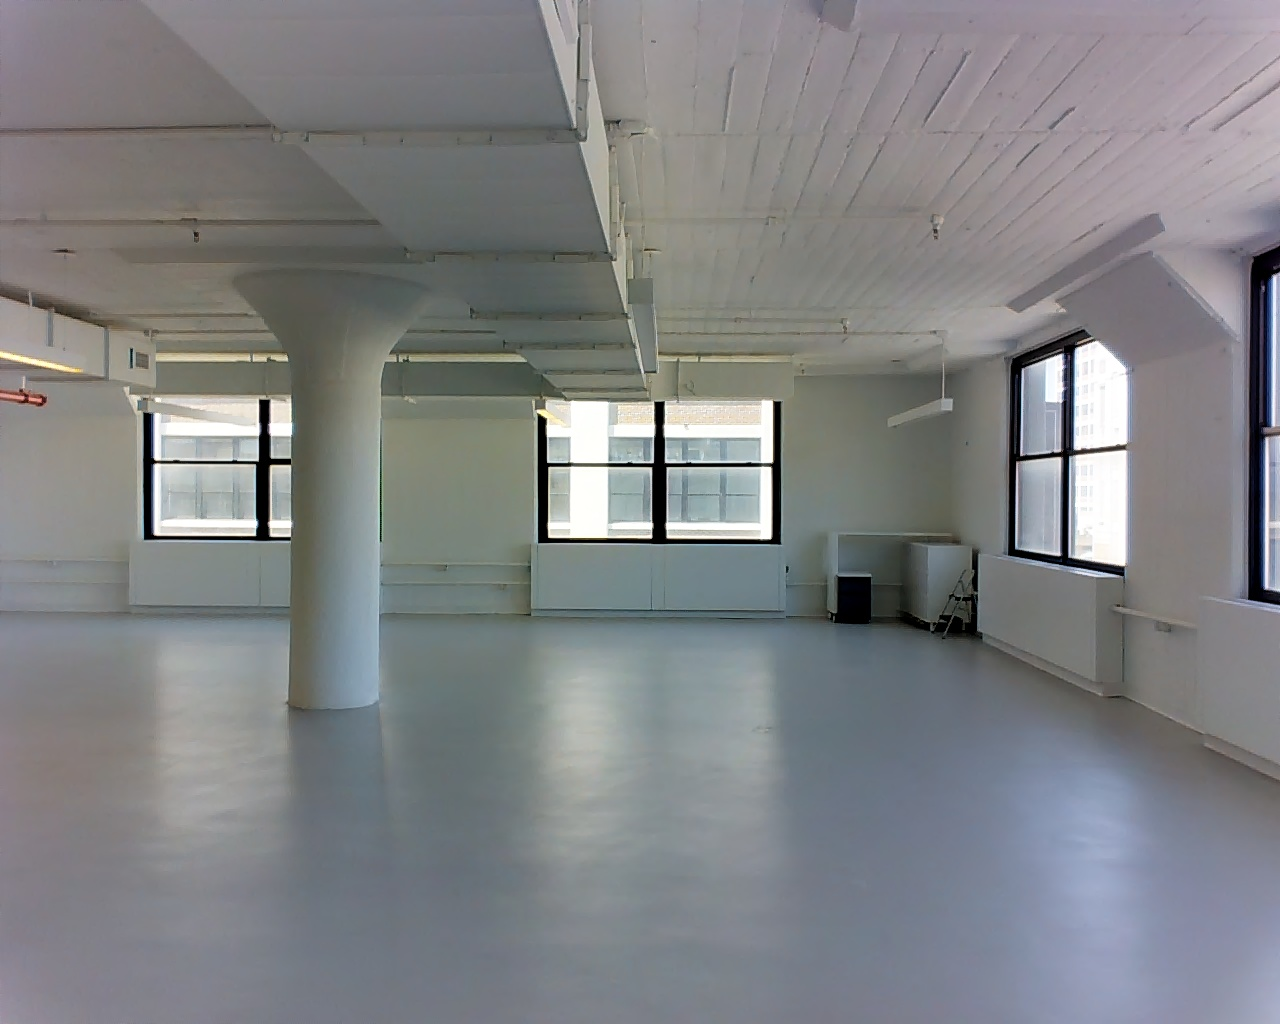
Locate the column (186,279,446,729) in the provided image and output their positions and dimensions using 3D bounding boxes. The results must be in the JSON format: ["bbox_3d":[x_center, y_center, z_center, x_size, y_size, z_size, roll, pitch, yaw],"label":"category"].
[{"bbox_3d":[-2.230,-0.060,7.630,1.380,2.901,1.380,0,0,2],"label":"column"}]
